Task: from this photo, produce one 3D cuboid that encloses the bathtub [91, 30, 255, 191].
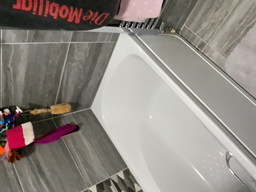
[{"bbox_3d":[0.500,0.380,1.190,1.630,0.550,0.660,52,134,27],"label":"bathtub"}]
